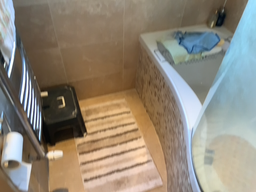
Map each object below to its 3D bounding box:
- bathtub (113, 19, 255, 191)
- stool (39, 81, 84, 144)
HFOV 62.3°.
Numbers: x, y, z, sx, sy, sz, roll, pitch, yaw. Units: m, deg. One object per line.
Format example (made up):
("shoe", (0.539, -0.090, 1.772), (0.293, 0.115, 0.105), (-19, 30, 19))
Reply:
("bathtub", (0.560, 0.240, 1.300), (0.890, 0.580, 1.620), (-12, 49, -14))
("stool", (-0.500, 0.120, 1.600), (0.240, 0.270, 0.340), (-12, 49, -14))
